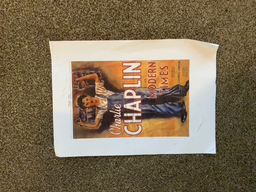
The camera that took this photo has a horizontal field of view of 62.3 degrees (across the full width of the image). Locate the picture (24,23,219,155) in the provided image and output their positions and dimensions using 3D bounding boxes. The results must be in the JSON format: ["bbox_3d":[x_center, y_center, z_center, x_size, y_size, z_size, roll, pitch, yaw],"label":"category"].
[{"bbox_3d":[-0.010,-0.010,0.380,0.340,0.010,0.230,0,93,-1],"label":"picture"}]
